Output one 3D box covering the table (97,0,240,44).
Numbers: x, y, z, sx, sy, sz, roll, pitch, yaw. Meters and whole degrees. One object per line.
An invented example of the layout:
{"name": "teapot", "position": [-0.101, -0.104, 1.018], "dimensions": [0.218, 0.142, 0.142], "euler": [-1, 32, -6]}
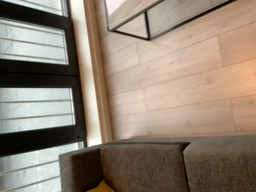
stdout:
{"name": "table", "position": [0.310, -0.780, 1.250], "dimensions": [1.060, 0.440, 0.540], "euler": [-14, 81, 44]}
